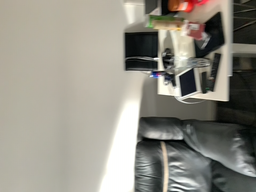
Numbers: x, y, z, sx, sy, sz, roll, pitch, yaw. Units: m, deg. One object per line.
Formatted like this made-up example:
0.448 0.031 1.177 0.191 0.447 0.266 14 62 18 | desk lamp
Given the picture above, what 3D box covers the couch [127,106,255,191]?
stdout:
0.590 1.340 1.700 1.030 0.950 2.390 -166 76 -73 | couch
